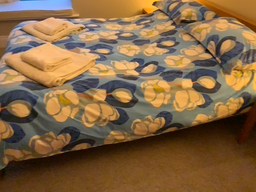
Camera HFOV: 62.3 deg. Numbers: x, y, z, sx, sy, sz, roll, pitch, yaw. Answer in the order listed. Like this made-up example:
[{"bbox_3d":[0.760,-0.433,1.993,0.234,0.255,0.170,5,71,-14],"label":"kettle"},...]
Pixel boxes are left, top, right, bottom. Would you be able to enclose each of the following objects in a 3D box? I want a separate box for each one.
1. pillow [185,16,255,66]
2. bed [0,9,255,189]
[{"bbox_3d":[0.770,-0.450,1.640,0.400,0.150,0.570,-7,38,-13],"label":"pillow"},{"bbox_3d":[-0.020,-0.270,1.990,2.200,0.520,1.640,-9,38,-13],"label":"bed"}]
